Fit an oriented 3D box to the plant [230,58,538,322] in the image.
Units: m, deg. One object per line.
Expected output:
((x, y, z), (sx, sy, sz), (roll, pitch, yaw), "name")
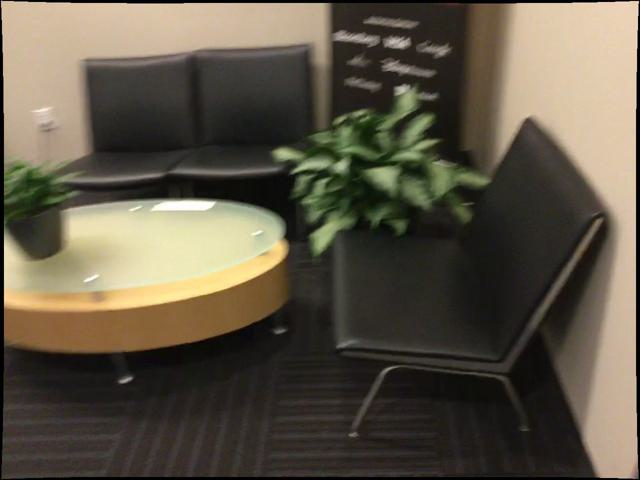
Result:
((0.219, -0.221, 2.240), (0.918, 0.641, 0.811), (-3, 35, 4), "plant")

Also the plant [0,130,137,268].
((-0.848, -0.140, 1.870), (0.339, 0.270, 0.370), (-3, 35, 4), "plant")

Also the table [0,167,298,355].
((-0.619, 0.060, 2.040), (1.018, 0.331, 0.570), (-3, 35, 4), "table")

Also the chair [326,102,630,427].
((0.379, 0.060, 1.730), (0.658, 0.681, 0.651), (-3, 35, 4), "chair")

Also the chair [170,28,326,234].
((-0.279, -0.531, 2.740), (0.549, 0.681, 0.731), (-3, 35, 4), "chair")
